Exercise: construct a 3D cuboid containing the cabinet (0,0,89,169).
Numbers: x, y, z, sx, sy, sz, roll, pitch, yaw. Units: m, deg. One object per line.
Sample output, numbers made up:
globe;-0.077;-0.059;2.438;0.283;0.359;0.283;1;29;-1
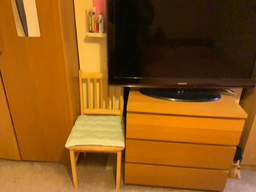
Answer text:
cabinet;-0.930;-0.500;1.620;1.050;2.360;0.380;3;26;3
